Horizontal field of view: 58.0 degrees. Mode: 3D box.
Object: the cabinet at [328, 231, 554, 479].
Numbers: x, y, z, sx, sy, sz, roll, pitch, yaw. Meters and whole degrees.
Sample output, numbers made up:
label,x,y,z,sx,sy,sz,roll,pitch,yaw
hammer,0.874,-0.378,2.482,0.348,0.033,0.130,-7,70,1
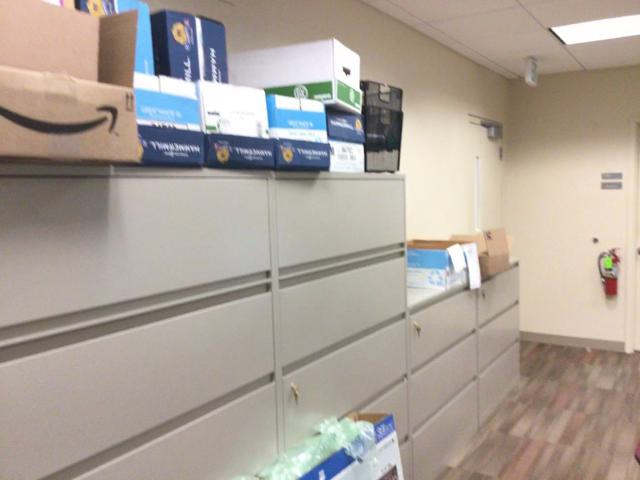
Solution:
label,x,y,z,sx,sy,sz,roll,pitch,yaw
cabinet,0.950,0.600,3.790,0.600,1.050,2.240,-1,7,34
